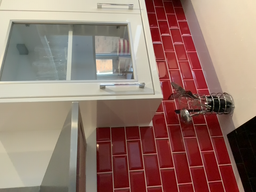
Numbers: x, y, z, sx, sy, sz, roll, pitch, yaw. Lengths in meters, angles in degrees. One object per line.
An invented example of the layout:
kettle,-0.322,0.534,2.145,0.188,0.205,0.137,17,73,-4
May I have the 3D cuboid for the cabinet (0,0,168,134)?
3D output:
cabinet,-0.300,-0.390,1.250,0.340,0.800,1.130,104,163,-60
